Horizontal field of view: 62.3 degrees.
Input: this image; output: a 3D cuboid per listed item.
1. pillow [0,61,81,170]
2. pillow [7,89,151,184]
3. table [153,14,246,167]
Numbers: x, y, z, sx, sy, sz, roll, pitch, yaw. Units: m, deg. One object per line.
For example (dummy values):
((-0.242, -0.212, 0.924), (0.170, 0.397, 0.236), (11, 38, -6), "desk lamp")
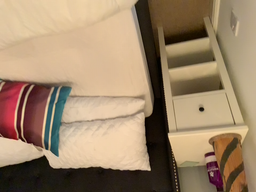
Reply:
((-0.560, 0.090, 1.150), (0.460, 0.420, 0.230), (-20, -160, -17), "pillow")
((-0.290, 0.270, 1.300), (0.760, 0.480, 0.190), (-8, -165, 18), "pillow")
((0.410, -0.020, 1.380), (0.340, 0.530, 0.790), (-9, -124, 13), "table")
